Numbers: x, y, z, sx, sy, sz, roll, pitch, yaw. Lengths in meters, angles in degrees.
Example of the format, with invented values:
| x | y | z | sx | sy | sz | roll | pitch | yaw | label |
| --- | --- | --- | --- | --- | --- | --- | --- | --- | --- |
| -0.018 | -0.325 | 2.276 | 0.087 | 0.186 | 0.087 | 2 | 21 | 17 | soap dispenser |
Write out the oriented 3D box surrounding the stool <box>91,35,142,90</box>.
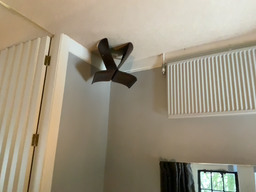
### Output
| x | y | z | sx | sy | sz | roll | pitch | yaw | label |
| --- | --- | --- | --- | --- | --- | --- | --- | --- | --- |
| -0.130 | -0.330 | 2.250 | 0.430 | 0.400 | 0.390 | 7 | 164 | -17 | stool |
